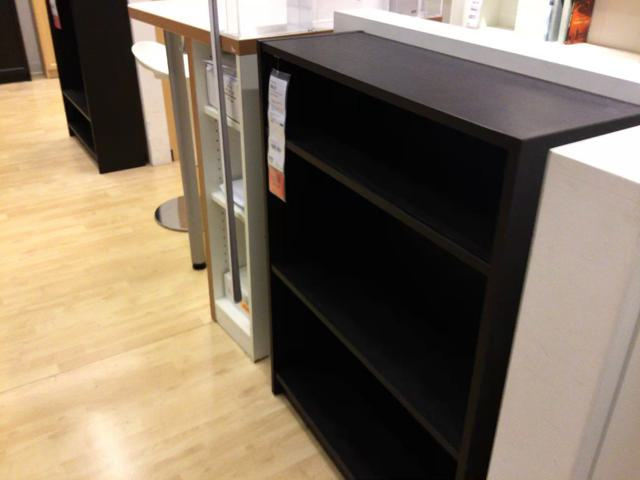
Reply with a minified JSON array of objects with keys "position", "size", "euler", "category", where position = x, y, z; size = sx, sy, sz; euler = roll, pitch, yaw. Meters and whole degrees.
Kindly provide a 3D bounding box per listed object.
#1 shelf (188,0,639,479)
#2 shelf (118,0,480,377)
[{"position":[0.400,0.070,1.410],"size":[0.940,1.090,1.270],"euler":[-16,33,-24],"category":"shelf"},{"position":[-0.110,-0.410,2.060],"size":[0.860,1.290,0.870],"euler":[-16,33,-24],"category":"shelf"}]
